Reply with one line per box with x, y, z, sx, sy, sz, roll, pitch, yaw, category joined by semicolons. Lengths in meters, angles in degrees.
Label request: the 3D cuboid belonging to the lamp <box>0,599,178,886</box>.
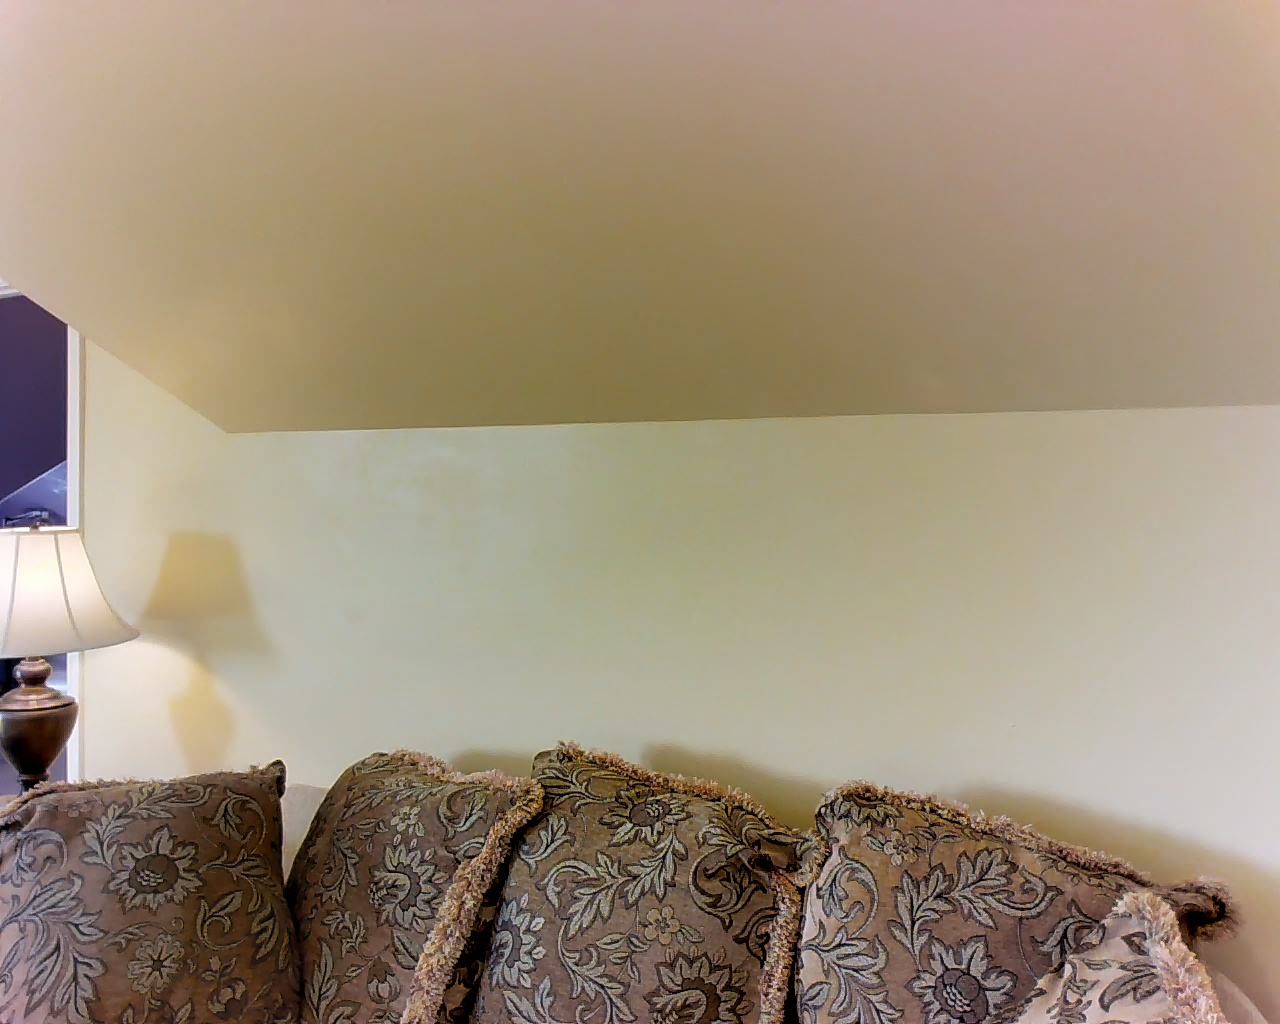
-1.450;0.520;2.600;0.450;0.560;0.420;1;1;31;lamp
